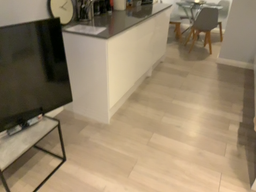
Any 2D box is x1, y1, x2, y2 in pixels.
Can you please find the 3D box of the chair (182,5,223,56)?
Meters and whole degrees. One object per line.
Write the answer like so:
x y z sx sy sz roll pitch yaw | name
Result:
1.340 -1.230 3.950 0.450 0.780 0.520 3 32 1 | chair

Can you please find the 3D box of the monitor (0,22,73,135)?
-0.840 -0.030 1.270 0.070 0.630 1.090 27 39 33 | monitor

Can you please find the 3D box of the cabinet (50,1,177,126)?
0.000 -0.610 2.760 0.610 0.900 1.970 16 35 21 | cabinet
